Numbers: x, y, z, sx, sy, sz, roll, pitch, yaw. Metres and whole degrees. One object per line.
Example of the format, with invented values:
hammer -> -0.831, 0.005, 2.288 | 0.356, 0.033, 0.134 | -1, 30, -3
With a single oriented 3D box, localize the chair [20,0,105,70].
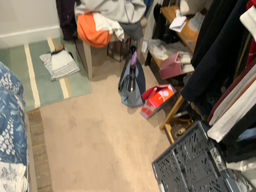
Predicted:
chair -> -0.480, -0.750, 1.450 | 0.470, 0.950, 0.560 | -15, 58, -14
